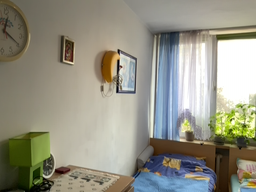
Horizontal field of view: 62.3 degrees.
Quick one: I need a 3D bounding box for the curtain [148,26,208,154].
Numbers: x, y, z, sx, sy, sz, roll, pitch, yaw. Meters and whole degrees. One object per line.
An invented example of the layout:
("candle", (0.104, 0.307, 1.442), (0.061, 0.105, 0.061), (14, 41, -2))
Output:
("curtain", (0.760, -0.100, 3.260), (0.810, 1.850, 0.160), (2, 1, 19))
